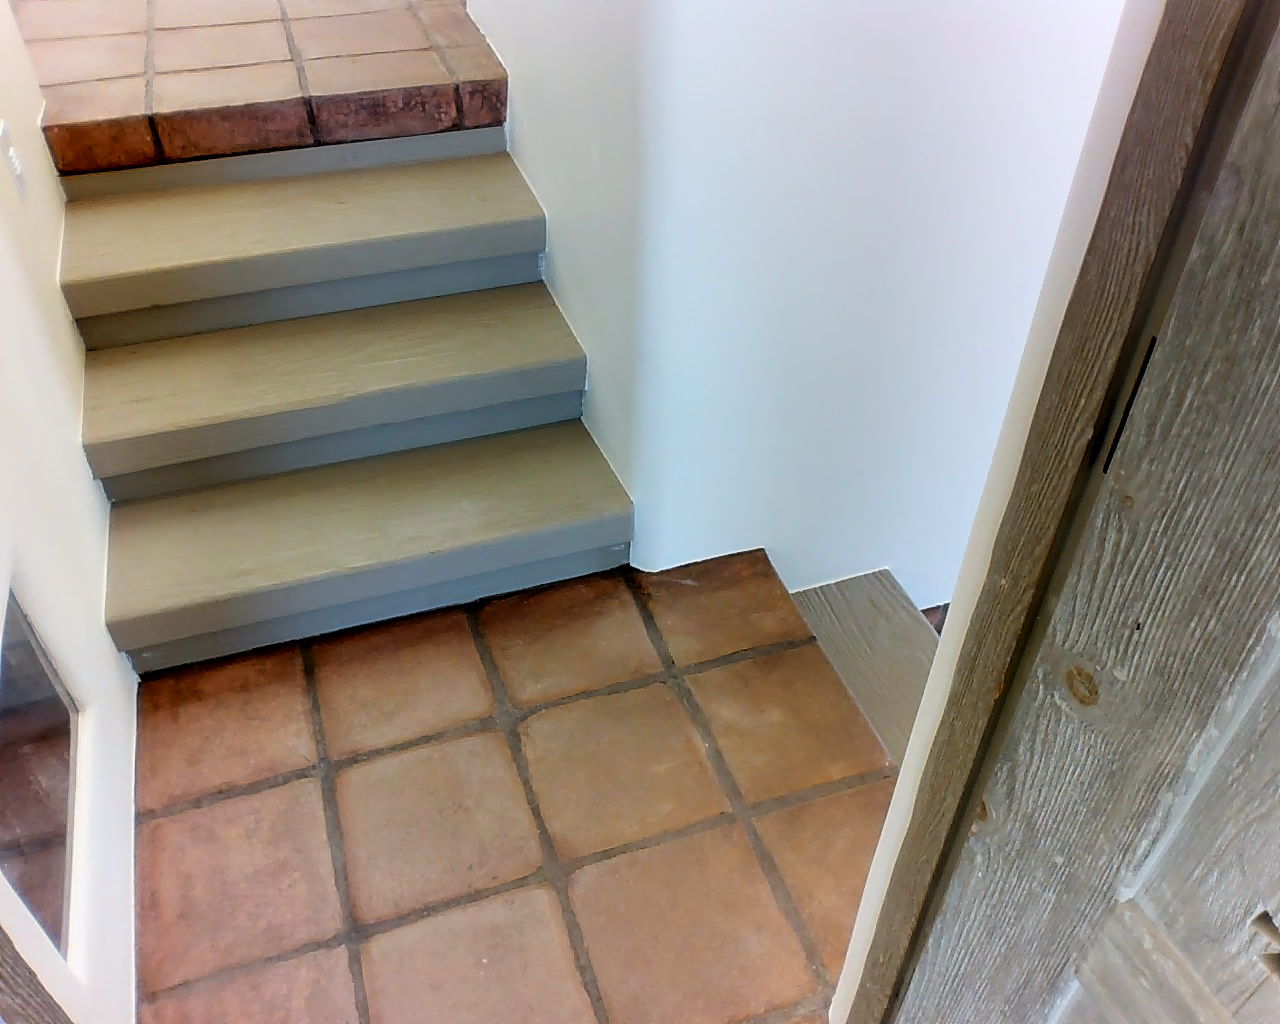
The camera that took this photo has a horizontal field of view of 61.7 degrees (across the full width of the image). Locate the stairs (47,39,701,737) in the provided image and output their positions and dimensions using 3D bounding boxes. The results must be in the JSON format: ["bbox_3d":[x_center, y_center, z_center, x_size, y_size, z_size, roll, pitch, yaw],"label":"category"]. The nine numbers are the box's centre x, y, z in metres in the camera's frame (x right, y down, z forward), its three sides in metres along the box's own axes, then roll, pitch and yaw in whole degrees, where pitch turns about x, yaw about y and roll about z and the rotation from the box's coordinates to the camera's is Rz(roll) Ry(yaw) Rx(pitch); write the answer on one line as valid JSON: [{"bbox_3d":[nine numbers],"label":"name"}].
[{"bbox_3d":[-0.570,-0.340,2.100,0.940,0.370,1.220,-29,44,2],"label":"stairs"}]
